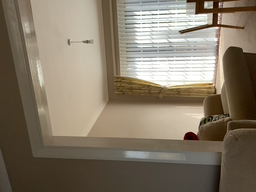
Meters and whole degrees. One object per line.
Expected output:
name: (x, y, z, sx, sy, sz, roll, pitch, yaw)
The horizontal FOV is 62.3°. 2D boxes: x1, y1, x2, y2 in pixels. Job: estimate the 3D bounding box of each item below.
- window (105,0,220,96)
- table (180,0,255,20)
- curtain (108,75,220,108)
window: (0.670, -1.160, 4.440, 0.160, 2.220, 2.340, -67, -23, -71)
table: (1.180, -1.580, 2.910, 0.940, 0.760, 0.980, -69, -21, -69)
curtain: (0.730, -0.110, 4.610, 0.210, 2.290, 0.650, -67, -23, -71)
